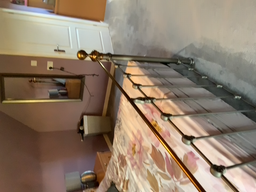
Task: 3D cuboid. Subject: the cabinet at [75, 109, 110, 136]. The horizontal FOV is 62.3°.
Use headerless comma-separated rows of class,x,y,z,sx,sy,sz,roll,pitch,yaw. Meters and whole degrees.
cabinet,-0.690,0.500,4.100,0.250,0.570,0.430,-46,50,55
